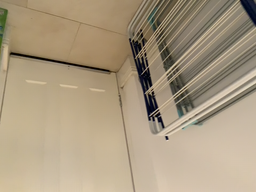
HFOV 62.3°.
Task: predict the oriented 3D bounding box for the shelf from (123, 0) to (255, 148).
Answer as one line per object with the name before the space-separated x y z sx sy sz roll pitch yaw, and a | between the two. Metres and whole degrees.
shelf | 0.270 -0.250 0.990 0.190 0.740 0.810 6 147 -25
